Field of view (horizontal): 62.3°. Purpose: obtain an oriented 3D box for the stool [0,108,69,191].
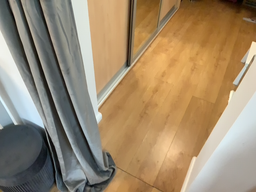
[{"bbox_3d":[-0.610,0.370,1.230,0.320,0.400,0.330,23,50,17],"label":"stool"}]
